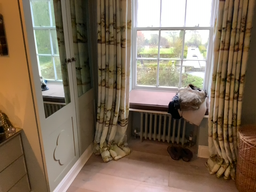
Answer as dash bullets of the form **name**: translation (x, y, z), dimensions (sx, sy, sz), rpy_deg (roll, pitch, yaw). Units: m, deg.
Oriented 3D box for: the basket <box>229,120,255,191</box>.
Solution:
- **basket**: translation (1.250, 0.590, 1.940), dimensions (0.470, 0.560, 0.420), rpy_deg (5, 20, 15)
